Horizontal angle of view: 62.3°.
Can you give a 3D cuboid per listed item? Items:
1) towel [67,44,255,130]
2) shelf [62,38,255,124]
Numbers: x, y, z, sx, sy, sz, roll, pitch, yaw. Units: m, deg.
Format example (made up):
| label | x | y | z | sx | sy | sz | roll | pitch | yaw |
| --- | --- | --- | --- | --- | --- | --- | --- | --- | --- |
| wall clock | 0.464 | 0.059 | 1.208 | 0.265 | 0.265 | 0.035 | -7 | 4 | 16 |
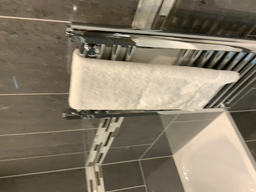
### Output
| label | x | y | z | sx | sy | sz | roll | pitch | yaw |
| --- | --- | --- | --- | --- | --- | --- | --- | --- | --- |
| towel | 0.090 | -0.010 | 0.730 | 0.340 | 0.560 | 0.100 | 121 | 143 | -57 |
| shelf | 0.140 | -0.030 | 0.780 | 0.370 | 0.720 | 0.070 | 118 | 145 | -55 |
